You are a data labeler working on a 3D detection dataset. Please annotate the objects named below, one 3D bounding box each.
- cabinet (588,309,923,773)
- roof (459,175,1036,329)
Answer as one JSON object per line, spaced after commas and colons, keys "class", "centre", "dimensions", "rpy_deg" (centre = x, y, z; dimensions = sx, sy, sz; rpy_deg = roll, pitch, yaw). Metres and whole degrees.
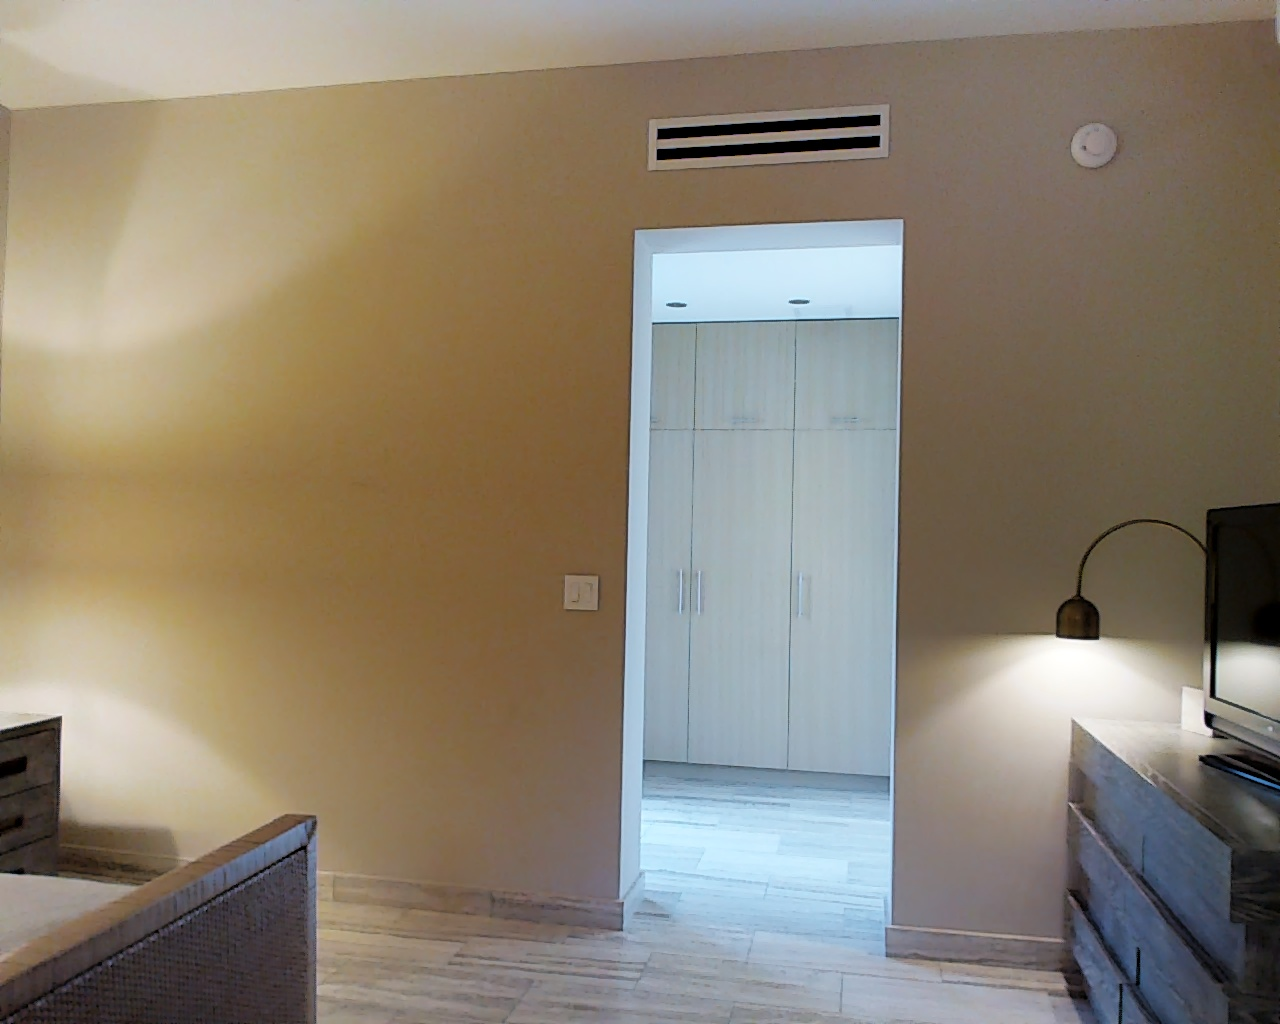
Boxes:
{"class": "cabinet", "centre": [0.660, 0.140, 6.220], "dimensions": [1.830, 2.520, 0.350], "rpy_deg": [1, -1, 13]}
{"class": "roof", "centre": [0.450, -1.140, 5.110], "dimensions": [2.030, 0.030, 1.830], "rpy_deg": [2, -1, -33]}
